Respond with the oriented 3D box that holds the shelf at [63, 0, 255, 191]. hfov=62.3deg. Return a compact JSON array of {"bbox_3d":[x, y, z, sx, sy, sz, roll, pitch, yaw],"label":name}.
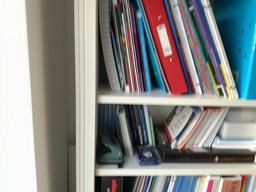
[{"bbox_3d":[0.160,0.280,0.790,0.680,1.900,0.370,1,13,-5],"label":"shelf"}]
